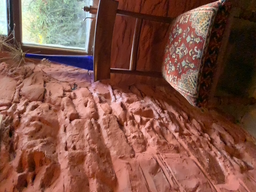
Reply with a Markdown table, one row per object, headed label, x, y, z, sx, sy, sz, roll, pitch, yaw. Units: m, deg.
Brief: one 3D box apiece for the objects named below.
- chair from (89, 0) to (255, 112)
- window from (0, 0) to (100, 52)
| label | x | y | z | sx | sy | sz | roll | pitch | yaw |
| --- | --- | --- | --- | --- | --- | --- | --- | --- | --- |
| chair | 0.280 | -0.250 | 1.200 | 0.560 | 0.860 | 0.490 | -136 | 52 | -63 |
| window | -0.710 | -0.770 | 1.360 | 0.090 | 1.080 | 0.850 | -123 | 40 | -56 |
